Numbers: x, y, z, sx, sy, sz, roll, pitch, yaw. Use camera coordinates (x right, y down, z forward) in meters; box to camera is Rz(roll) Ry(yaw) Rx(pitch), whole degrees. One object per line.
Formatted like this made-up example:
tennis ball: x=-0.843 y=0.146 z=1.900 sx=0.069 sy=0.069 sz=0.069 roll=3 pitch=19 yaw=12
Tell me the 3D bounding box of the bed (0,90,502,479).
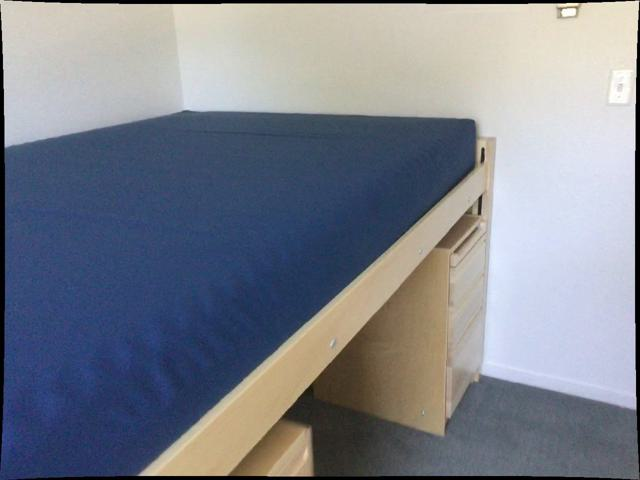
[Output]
bed: x=-0.489 y=0.311 z=1.690 sx=1.488 sy=1.152 sz=2.200 roll=8 pitch=24 yaw=26
